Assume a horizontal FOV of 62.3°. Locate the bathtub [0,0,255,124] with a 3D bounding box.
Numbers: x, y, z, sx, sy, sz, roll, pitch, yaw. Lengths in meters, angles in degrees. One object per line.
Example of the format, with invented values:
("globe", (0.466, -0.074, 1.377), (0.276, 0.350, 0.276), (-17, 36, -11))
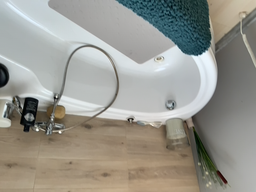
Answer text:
("bathtub", (-0.110, -0.390, 1.220), (1.740, 0.610, 1.170), (8, 151, -22))
